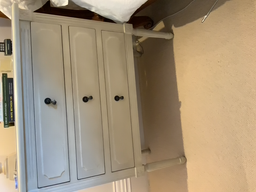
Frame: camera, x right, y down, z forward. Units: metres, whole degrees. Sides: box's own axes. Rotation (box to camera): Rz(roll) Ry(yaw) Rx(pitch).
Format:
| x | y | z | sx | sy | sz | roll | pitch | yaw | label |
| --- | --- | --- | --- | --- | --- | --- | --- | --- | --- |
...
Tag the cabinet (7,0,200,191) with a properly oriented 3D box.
| x | y | z | sx | sy | sz | roll | pitch | yaw | label |
| --- | --- | --- | --- | --- | --- | --- | --- | --- | --- |
| -0.150 | 0.030 | 1.120 | 0.530 | 0.800 | 0.750 | -12 | 82 | 63 | cabinet |
